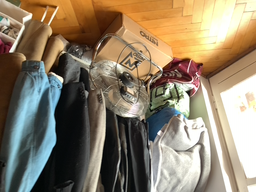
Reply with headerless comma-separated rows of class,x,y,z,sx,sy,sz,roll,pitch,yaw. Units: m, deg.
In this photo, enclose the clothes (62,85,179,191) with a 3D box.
clothes,-0.070,0.590,1.350,0.440,1.070,0.630,27,137,-33
